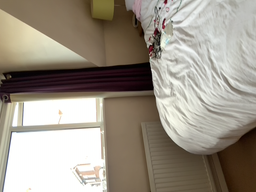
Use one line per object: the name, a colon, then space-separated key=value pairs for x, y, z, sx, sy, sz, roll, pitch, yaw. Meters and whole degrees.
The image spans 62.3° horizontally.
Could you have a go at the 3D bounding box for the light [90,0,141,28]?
light: x=-0.180 y=-1.150 z=2.680 sx=0.330 sy=0.590 sz=0.450 roll=102 pitch=164 yaw=-58

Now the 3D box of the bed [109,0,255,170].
bed: x=0.420 y=-0.790 z=1.620 sx=1.610 sy=0.950 sz=2.210 roll=102 pitch=163 yaw=-59

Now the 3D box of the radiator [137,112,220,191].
radiator: x=0.460 y=0.590 z=2.050 sx=0.090 sy=0.630 sz=0.900 roll=101 pitch=164 yaw=-57
